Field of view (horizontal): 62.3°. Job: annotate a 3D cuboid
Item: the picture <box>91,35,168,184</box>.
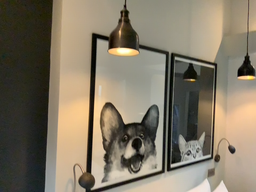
[{"bbox_3d":[0.040,0.100,1.620,0.640,1.000,0.050,2,0,-34],"label":"picture"}]
